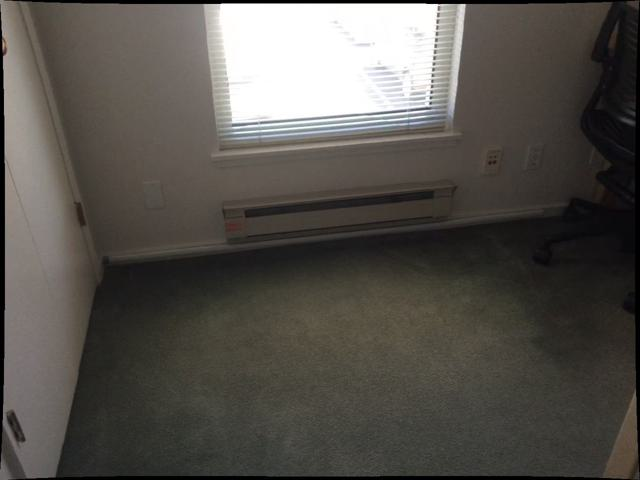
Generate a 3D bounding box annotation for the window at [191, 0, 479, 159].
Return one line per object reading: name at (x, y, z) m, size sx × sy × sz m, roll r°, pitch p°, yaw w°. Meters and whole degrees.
window at (0.050, -0.741, 1.990) m, size 0.949 × 0.851 × 0.190 m, roll -6°, pitch 36°, yaw -10°

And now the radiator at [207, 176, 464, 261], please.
radiator at (0.070, -0.090, 2.310) m, size 1.008 × 0.250 × 0.070 m, roll -6°, pitch 36°, yaw -10°
